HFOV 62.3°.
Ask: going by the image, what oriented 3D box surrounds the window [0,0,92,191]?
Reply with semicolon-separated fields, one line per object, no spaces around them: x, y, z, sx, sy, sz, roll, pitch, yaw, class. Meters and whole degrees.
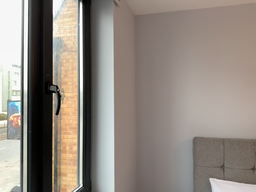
-0.420;-0.090;1.090;0.040;1.530;1.120;0;-1;13;window
